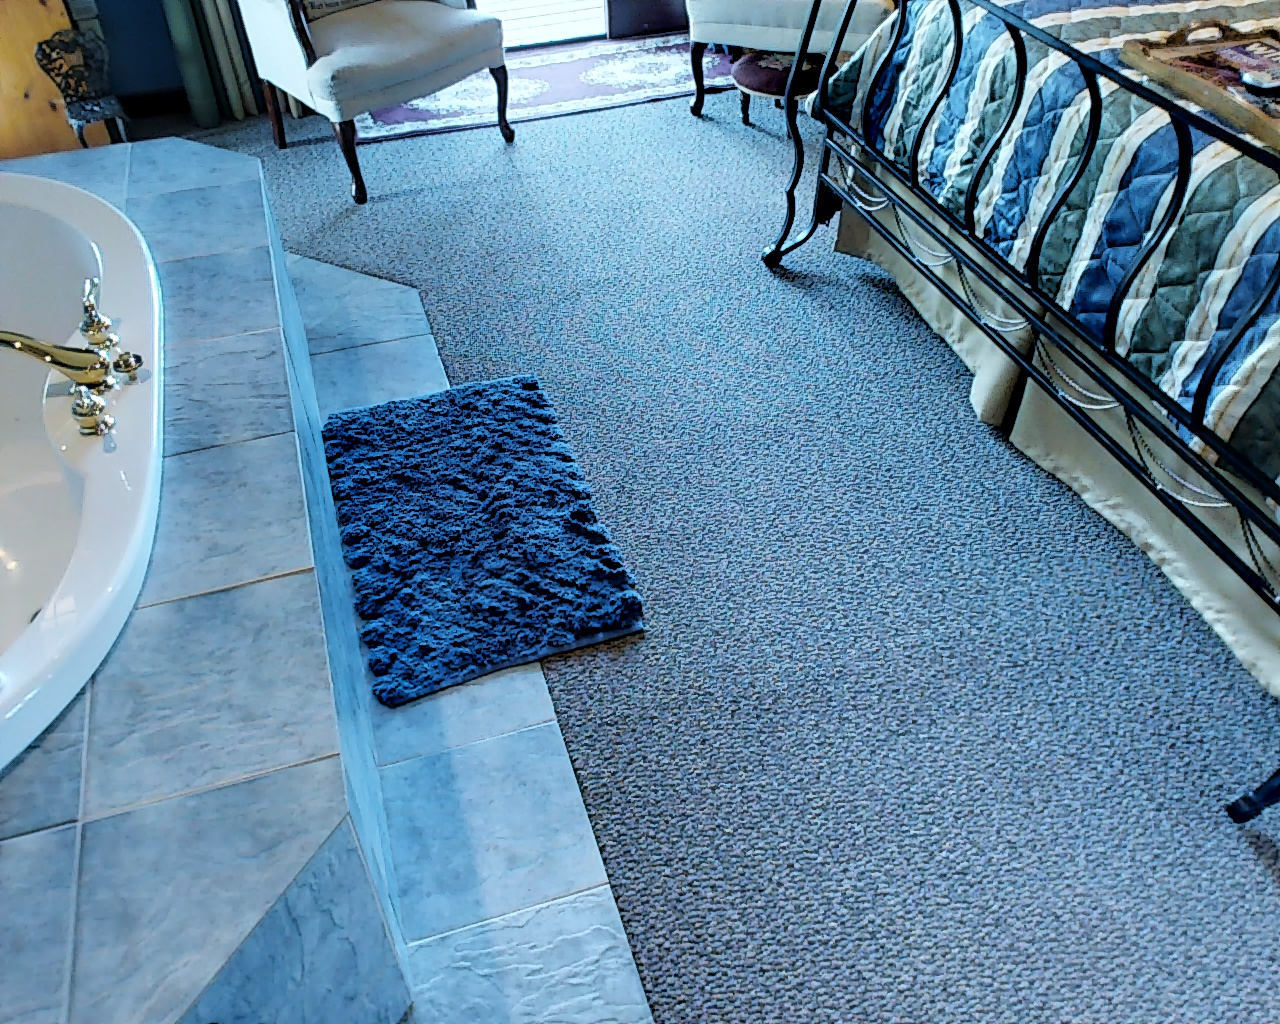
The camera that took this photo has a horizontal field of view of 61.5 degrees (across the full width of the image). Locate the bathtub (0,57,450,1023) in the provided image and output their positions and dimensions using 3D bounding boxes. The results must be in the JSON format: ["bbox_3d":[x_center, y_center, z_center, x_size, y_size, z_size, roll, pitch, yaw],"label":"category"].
[{"bbox_3d":[-1.220,0.040,1.840,1.370,0.660,2.470,-13,43,-13],"label":"bathtub"}]

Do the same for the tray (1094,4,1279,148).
[{"bbox_3d":[1.210,-0.810,2.000,0.410,0.050,0.600,-13,43,-13],"label":"tray"}]
